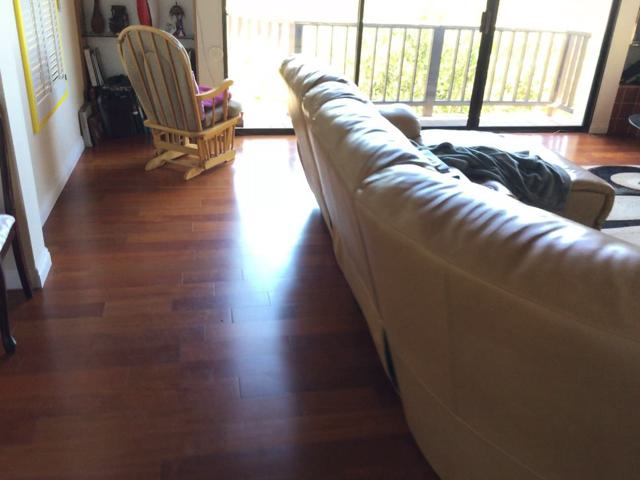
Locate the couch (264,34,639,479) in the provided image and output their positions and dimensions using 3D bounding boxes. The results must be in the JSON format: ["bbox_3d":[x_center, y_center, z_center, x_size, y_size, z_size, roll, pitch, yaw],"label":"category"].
[{"bbox_3d":[1.440,-0.040,2.450,3.020,1.060,3.370,-1,26,-11],"label":"couch"}]
